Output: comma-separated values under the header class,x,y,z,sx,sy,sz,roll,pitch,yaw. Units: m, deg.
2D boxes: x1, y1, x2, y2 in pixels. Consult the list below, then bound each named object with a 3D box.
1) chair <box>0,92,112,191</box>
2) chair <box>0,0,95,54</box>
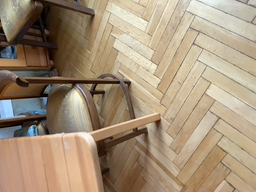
class,x,y,z,sx,sy,sz,roll,pitch,yaw
chair,-0.600,0.300,1.480,0.420,0.790,0.480,-26,79,38
chair,-0.800,-0.750,1.530,0.600,0.770,0.630,-23,81,38
